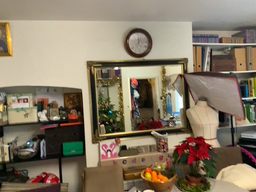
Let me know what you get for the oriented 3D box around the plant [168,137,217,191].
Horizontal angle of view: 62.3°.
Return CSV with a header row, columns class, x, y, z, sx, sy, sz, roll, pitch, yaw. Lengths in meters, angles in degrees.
class,x,y,z,sx,sy,sz,roll,pitch,yaw
plant,0.560,0.610,1.880,0.290,0.400,0.300,-3,2,-12
